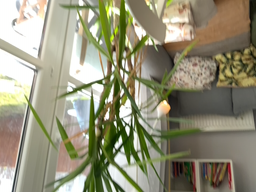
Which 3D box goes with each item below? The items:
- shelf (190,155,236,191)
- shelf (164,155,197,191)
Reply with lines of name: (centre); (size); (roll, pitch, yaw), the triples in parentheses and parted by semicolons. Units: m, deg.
shelf: (0.920, 1.230, 2.220); (0.410, 1.150, 0.310); (-7, 160, 28)
shelf: (0.610, 1.200, 2.410); (0.290, 1.010, 0.310); (-7, 160, 28)
